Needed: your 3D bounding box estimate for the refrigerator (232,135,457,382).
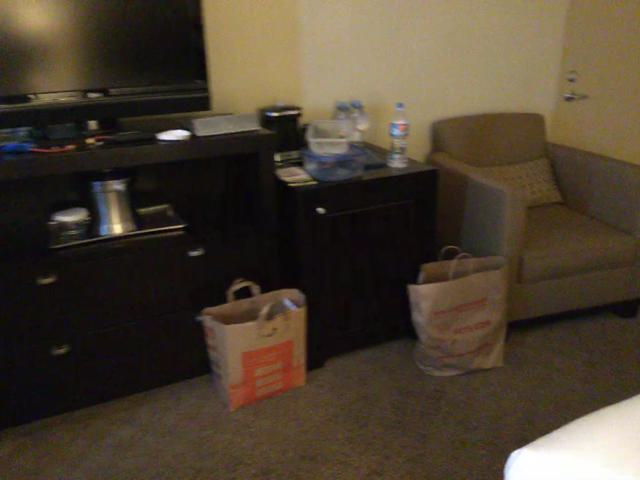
[{"bbox_3d":[0.060,0.020,2.510,0.690,0.800,0.680,-8,22,-23],"label":"refrigerator"}]
